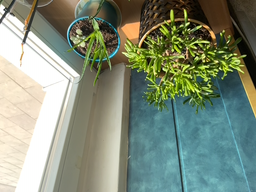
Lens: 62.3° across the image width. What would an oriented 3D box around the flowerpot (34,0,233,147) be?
[{"bbox_3d":[0.030,-0.110,0.600,0.370,0.350,0.290,-18,138,23],"label":"flowerpot"}]
